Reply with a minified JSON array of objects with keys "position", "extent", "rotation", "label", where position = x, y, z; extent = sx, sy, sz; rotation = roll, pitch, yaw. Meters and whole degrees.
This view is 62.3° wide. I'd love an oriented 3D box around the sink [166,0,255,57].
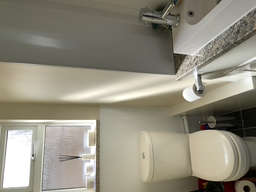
[{"position":[0.320,-0.390,0.730],"extent":[0.590,0.100,0.290],"rotation":[143,128,-68],"label":"sink"}]
